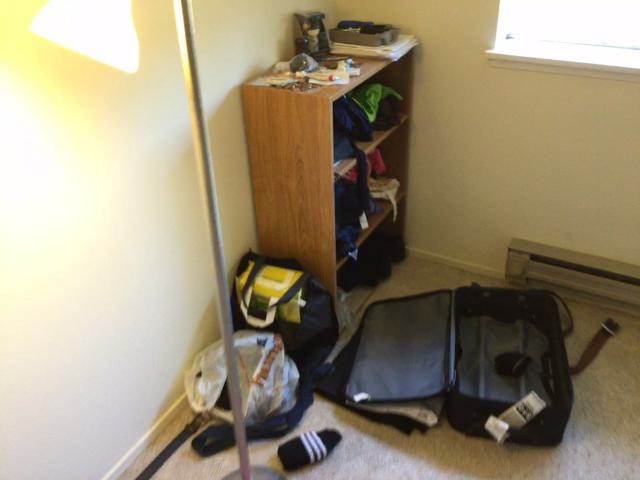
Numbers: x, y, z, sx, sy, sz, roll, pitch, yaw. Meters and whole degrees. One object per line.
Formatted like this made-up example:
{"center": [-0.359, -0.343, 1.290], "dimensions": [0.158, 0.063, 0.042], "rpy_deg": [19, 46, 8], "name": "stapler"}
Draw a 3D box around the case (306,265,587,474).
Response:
{"center": [0.430, 0.360, 1.880], "dimensions": [0.770, 0.170, 0.610], "rpy_deg": [7, 32, 20], "name": "case"}
